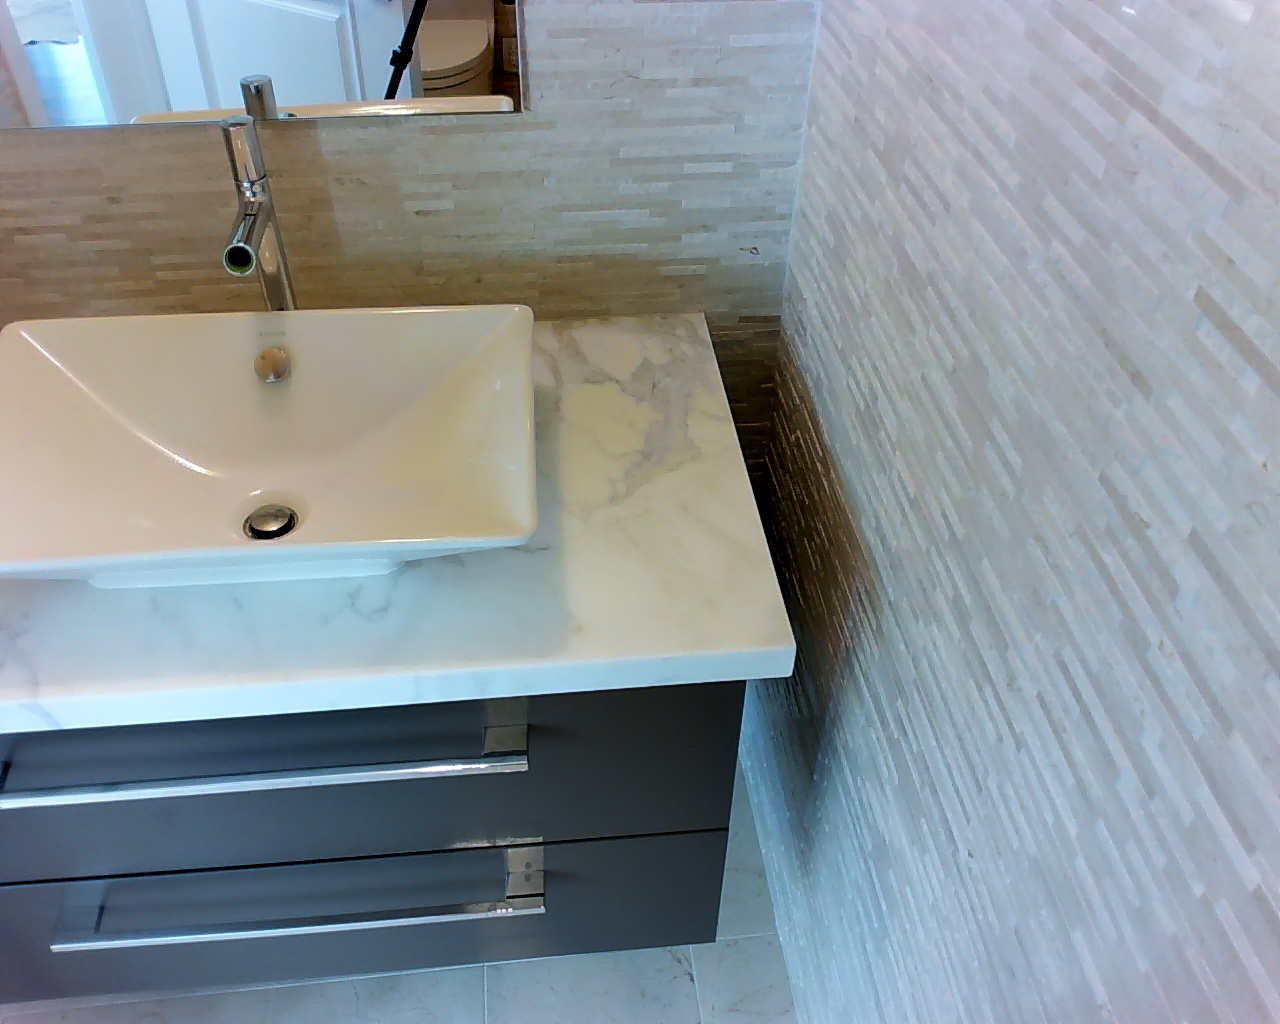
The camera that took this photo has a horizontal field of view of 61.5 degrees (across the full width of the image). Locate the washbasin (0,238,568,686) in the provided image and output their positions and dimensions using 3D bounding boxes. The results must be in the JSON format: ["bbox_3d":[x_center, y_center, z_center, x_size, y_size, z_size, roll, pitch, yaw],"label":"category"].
[{"bbox_3d":[-0.380,-0.080,1.090,0.580,0.150,0.490,-4,42,-5],"label":"washbasin"}]
